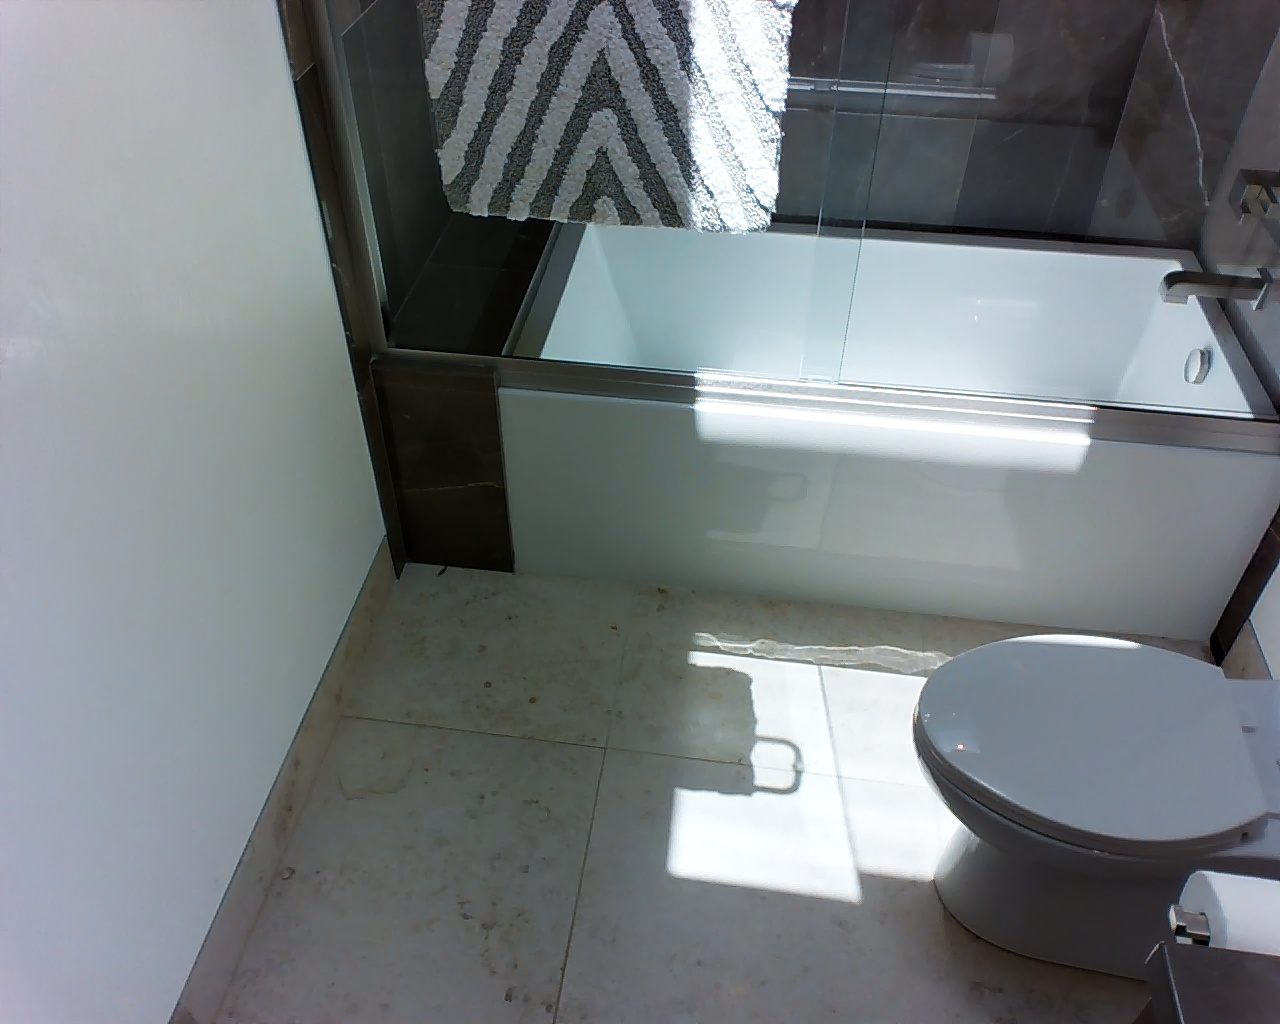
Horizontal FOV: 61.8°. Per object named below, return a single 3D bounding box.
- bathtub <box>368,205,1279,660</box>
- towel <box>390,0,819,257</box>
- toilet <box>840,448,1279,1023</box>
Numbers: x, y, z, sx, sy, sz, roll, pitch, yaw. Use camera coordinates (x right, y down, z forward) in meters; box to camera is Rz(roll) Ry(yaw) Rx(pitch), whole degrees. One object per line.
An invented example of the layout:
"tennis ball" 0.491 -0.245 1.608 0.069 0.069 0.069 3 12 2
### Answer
"bathtub" 0.390 -0.230 2.430 1.720 0.500 0.840 5 42 6
"towel" -0.050 -0.630 1.600 0.600 0.470 0.080 5 42 6
"toilet" 0.720 0.350 1.530 0.770 0.730 0.410 5 42 6
